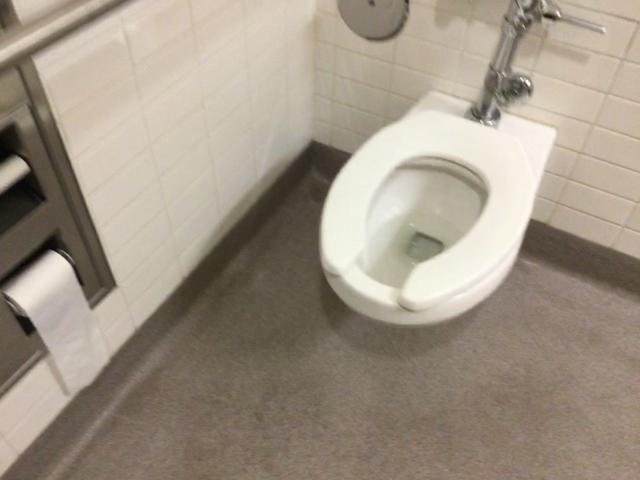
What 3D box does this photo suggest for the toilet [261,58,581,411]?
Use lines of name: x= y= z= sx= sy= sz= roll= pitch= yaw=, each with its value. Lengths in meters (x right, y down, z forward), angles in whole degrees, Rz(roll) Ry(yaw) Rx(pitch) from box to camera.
toilet: x=0.220 y=-0.060 z=1.160 sx=0.390 sy=0.290 sz=0.610 roll=25 pitch=44 yaw=14
